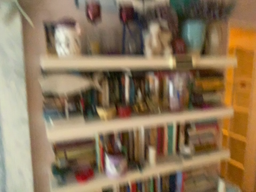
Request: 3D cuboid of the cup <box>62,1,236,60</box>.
[{"bbox_3d":[0.140,-0.330,1.200,0.950,0.240,0.270,-4,11,-22],"label":"cup"}]
